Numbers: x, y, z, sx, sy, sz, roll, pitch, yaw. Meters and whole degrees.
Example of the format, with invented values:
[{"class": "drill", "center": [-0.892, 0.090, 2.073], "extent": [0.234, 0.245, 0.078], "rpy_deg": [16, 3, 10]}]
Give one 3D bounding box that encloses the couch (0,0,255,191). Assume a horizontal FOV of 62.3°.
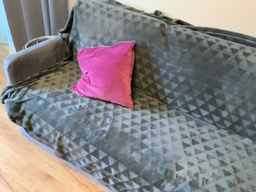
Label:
[{"class": "couch", "center": [0.370, 0.120, 1.230], "extent": [2.120, 0.850, 0.980], "rpy_deg": [24, 41, 18]}]
